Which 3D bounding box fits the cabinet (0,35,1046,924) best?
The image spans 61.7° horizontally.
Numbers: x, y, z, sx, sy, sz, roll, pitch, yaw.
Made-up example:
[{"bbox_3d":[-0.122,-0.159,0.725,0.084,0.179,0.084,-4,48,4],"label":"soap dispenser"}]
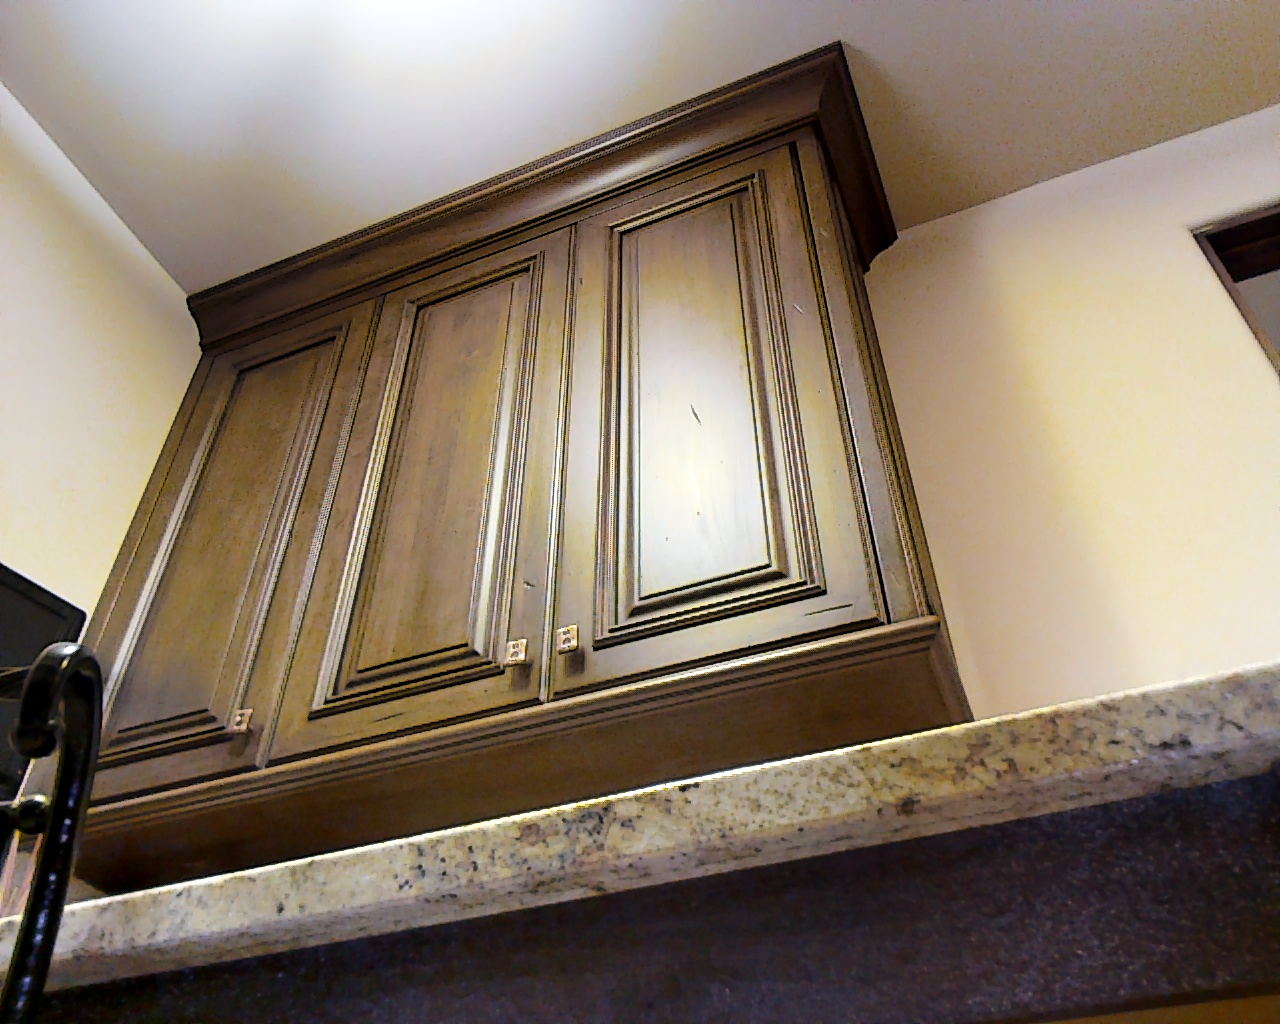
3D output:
[{"bbox_3d":[-0.230,-0.090,1.990,1.530,1.330,0.450,-15,-44,16],"label":"cabinet"}]
